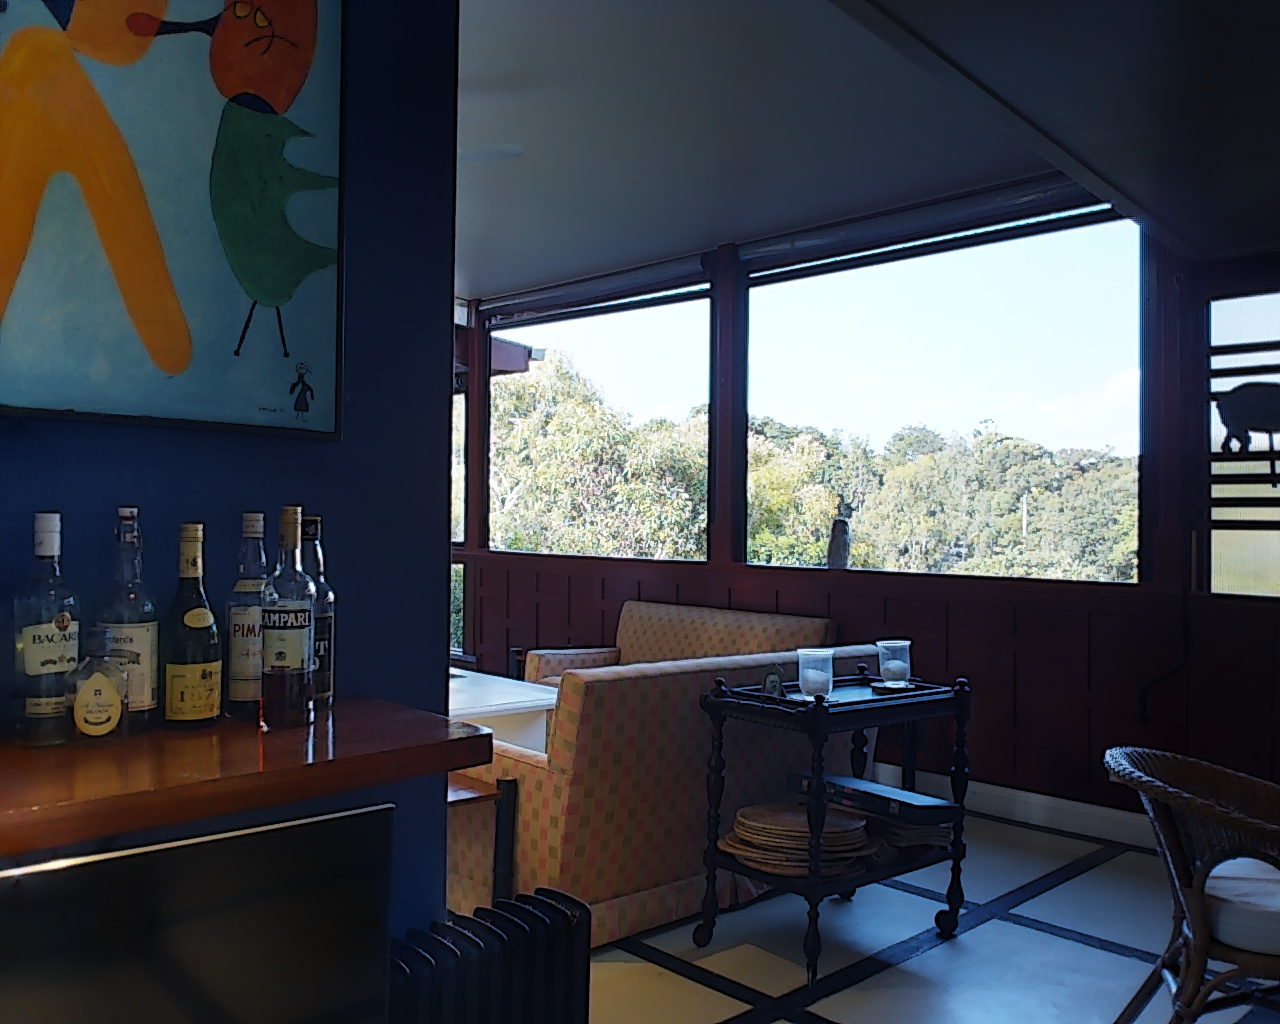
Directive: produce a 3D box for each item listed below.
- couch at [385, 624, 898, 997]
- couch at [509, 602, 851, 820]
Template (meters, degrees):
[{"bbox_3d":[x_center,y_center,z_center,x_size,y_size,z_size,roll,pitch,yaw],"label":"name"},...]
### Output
[{"bbox_3d":[0.060,0.910,3.840,1.620,0.860,0.940,2,-1,-44],"label":"couch"},{"bbox_3d":[0.170,0.960,5.680,0.930,0.830,1.600,2,-1,-44],"label":"couch"}]
